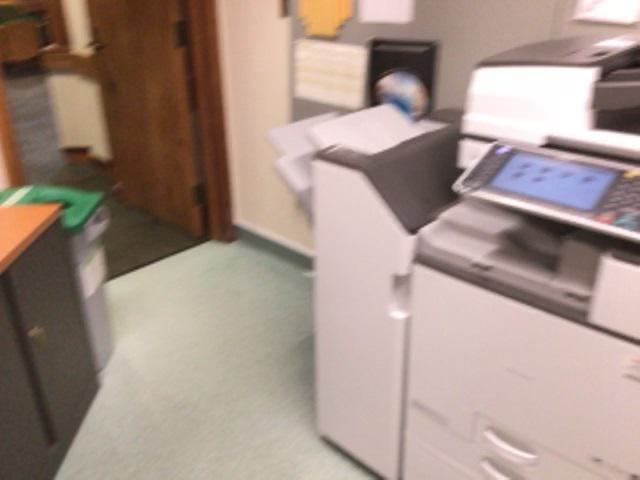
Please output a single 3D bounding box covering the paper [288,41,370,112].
[{"bbox_3d":[0.030,-0.630,2.210,0.400,0.230,0.020,20,32,40],"label":"paper"}]
